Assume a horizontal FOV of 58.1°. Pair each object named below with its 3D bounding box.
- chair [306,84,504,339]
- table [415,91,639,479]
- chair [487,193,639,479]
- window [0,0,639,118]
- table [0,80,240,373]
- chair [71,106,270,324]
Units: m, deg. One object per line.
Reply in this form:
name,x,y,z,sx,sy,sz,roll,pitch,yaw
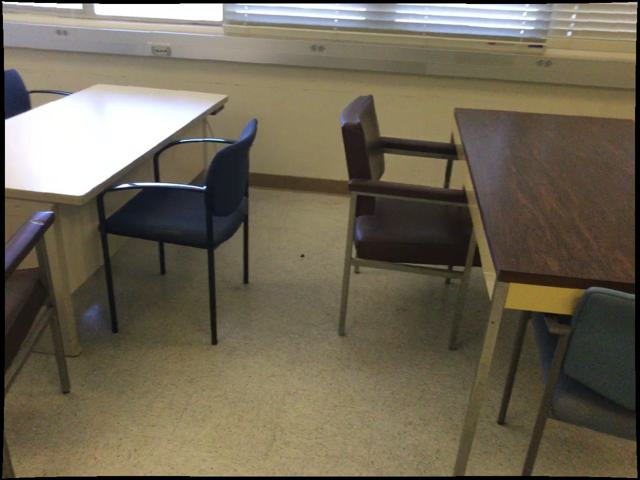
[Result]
chair,0.319,-0.150,2.330,0.628,0.762,0.670,6,29,8
table,0.828,0.060,2.030,0.878,0.731,1.591,4,29,6
chair,0.818,0.361,1.510,0.579,0.762,0.540,6,29,8
window,-0.239,-1.594,3.060,4.539,1.543,0.340,6,29,8
table,-1.027,-0.211,2.700,0.848,0.661,1.561,6,29,8
chair,-0.539,-0.120,2.310,0.549,0.661,0.530,6,29,8
